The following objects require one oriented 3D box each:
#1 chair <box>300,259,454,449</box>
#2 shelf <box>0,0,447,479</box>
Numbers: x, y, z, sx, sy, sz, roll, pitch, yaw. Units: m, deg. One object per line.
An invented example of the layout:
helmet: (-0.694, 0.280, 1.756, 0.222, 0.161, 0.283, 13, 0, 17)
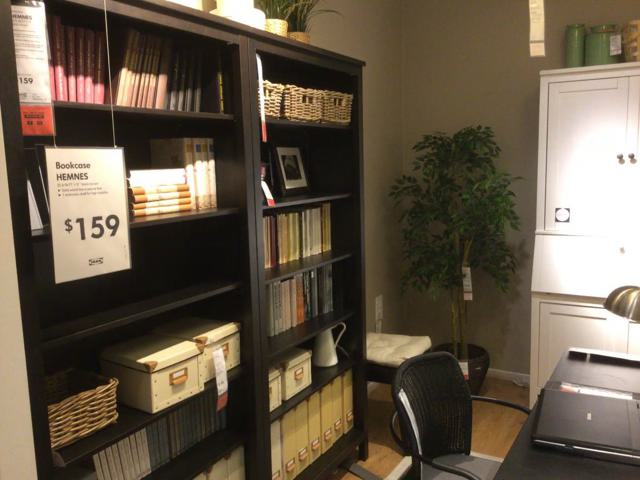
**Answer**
chair: (0.310, 0.540, 3.000, 0.550, 0.790, 0.510, 0, 10, 36)
shelf: (-0.350, 0.050, 1.950, 0.680, 2.210, 1.920, 0, 10, 36)
